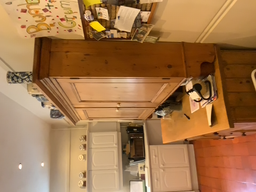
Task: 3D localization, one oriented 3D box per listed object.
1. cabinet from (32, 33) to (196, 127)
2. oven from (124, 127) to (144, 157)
[{"bbox_3d":[-0.160,0.010,2.090,1.670,0.970,0.320,112,157,-72],"label":"cabinet"},{"bbox_3d":[0.110,0.950,4.360,0.510,0.330,0.570,113,156,-73],"label":"oven"}]
